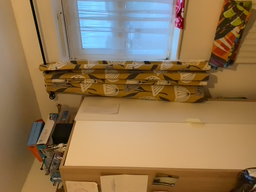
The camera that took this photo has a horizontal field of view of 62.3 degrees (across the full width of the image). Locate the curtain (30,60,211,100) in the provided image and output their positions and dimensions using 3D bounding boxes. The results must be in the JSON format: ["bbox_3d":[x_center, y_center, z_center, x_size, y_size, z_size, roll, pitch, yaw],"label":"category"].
[{"bbox_3d":[-0.060,-0.130,1.810,0.110,1.430,0.310,-91,2,-56],"label":"curtain"}]
